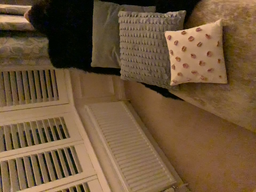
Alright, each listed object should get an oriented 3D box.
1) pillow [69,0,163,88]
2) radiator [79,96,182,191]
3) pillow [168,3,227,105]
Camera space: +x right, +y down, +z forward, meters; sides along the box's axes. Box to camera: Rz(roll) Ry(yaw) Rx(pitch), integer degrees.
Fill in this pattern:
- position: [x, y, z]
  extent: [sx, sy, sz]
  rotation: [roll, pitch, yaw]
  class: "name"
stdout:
- position: [-0.060, -0.370, 1.440]
  extent: [0.500, 0.420, 0.140]
  rotation: [-48, 48, 2]
  class: "pillow"
- position: [-0.030, 0.400, 1.920]
  extent: [1.050, 0.500, 0.090]
  rotation: [55, 139, 37]
  class: "radiator"
- position: [0.340, -0.210, 1.050]
  extent: [0.120, 0.330, 0.380]
  rotation: [21, 53, 29]
  class: "pillow"
